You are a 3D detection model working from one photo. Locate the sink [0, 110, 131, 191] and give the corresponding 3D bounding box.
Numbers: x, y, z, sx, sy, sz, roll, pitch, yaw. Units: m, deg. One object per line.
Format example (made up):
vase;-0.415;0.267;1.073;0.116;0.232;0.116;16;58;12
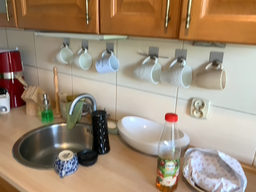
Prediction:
sink;-0.320;0.290;1.100;0.470;0.190;0.500;14;22;30
